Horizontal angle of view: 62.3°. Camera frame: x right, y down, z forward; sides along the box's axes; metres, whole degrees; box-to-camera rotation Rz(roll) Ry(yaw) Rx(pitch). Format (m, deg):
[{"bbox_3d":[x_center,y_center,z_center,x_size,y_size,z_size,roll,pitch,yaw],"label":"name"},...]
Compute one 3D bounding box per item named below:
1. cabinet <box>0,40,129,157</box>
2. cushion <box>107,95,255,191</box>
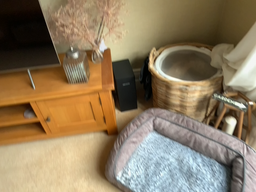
[{"bbox_3d":[-0.920,0.060,1.510,1.780,0.500,0.540,-7,43,-1],"label":"cabinet"},{"bbox_3d":[0.380,0.390,1.190,0.750,0.200,0.620,28,52,30],"label":"cushion"}]
